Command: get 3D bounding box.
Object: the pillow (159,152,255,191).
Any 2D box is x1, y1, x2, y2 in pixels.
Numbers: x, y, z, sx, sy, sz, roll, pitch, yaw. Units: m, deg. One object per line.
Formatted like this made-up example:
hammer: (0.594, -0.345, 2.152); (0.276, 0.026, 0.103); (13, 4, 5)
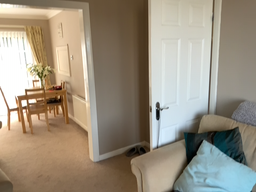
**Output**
pillow: (0.580, 0.570, 1.520); (0.490, 0.130, 0.500); (-4, -23, -36)
